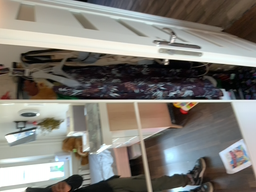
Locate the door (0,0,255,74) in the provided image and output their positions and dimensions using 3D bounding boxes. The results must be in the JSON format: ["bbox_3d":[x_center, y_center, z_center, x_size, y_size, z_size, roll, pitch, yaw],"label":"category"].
[{"bbox_3d":[0.150,-0.360,1.180,0.850,2.030,0.070,-126,43,-51],"label":"door"}]
